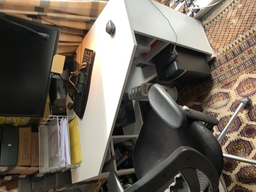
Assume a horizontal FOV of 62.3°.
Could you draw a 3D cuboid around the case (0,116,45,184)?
[{"bbox_3d":[-1.100,0.500,1.850,0.640,0.500,0.450,-35,59,44],"label":"case"}]
